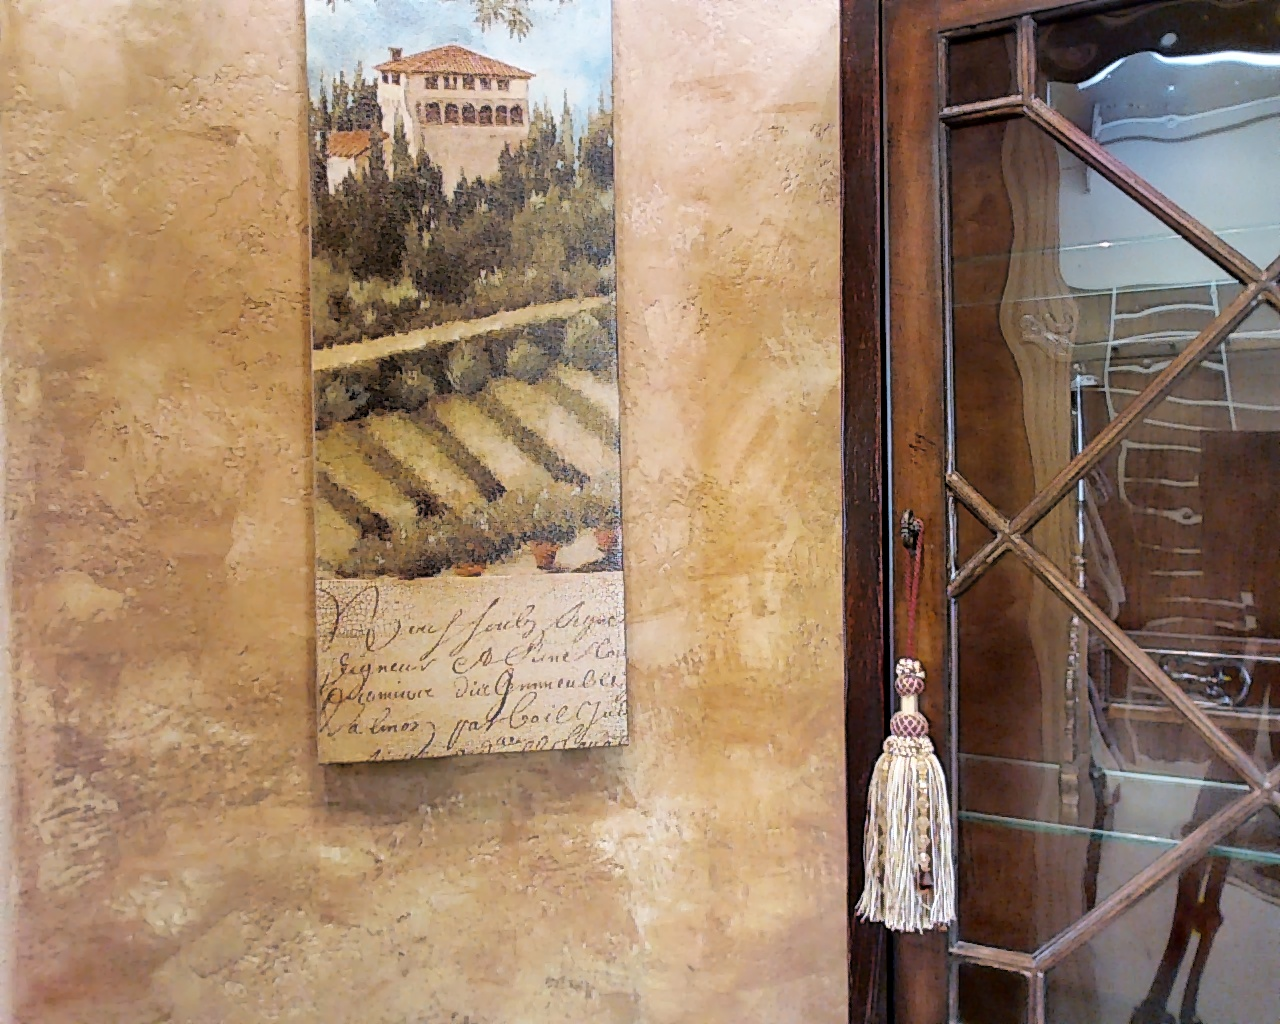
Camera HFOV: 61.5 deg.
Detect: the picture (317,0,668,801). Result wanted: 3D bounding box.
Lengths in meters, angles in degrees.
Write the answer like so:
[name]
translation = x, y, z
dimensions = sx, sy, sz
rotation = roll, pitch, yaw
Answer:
[picture]
translation = -0.140, -0.200, 1.050
dimensions = 0.330, 0.940, 0.050
rotation = 0, 1, -9
